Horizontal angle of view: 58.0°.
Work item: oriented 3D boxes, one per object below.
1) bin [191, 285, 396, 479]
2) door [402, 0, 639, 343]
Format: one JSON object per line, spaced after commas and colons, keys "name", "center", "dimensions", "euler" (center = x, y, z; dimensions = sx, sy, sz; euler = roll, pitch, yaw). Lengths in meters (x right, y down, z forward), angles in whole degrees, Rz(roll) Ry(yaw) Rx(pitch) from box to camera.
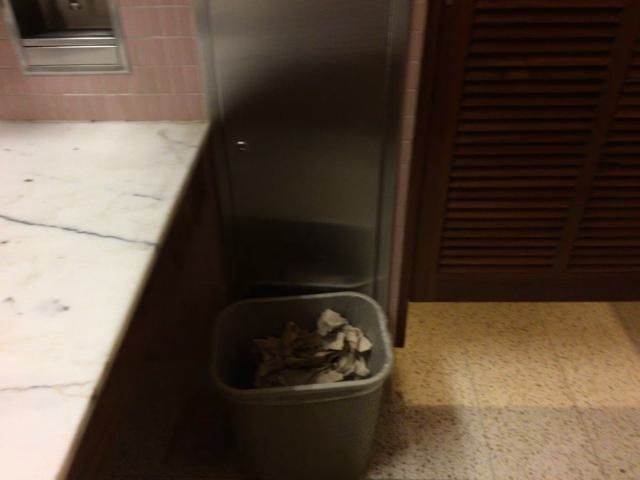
{"name": "bin", "center": [-0.040, 0.350, 1.300], "dimensions": [0.380, 0.400, 0.290], "euler": [-1, 36, 2]}
{"name": "door", "center": [0.530, -0.360, 1.010], "dimensions": [0.700, 1.470, 0.040], "euler": [-1, 36, 2]}
